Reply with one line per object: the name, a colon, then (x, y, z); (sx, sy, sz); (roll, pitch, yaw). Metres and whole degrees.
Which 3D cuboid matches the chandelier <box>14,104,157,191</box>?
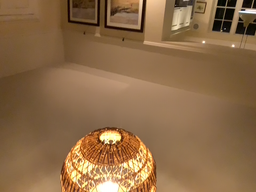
chandelier: (-0.150, 0.470, 1.080); (0.500, 0.700, 0.440); (4, 26, 2)
